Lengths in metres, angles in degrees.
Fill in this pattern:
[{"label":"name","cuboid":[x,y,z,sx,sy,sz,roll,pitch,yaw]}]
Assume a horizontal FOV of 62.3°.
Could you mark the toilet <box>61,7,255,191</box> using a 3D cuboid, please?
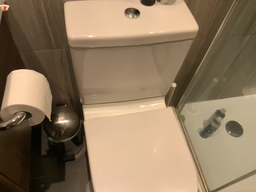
[{"label":"toilet","cuboid":[0.020,0.190,0.870,0.410,0.780,0.650,-8,57,-11]}]
